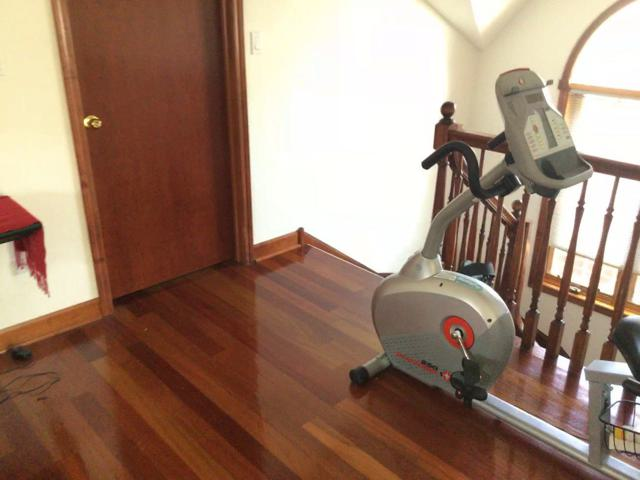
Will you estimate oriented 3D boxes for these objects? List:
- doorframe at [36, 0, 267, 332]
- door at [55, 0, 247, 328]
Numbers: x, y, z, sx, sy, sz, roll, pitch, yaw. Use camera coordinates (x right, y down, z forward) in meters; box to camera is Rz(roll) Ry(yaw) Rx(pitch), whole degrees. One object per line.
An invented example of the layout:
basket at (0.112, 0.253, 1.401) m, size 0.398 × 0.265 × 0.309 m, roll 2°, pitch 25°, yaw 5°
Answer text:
doorframe at (-0.730, -0.700, 2.660) m, size 1.000 × 2.120 × 0.210 m, roll -11°, pitch 23°, yaw -43°
door at (-0.750, -0.660, 2.710) m, size 0.150 × 2.030 × 0.900 m, roll 18°, pitch 21°, yaw 36°
